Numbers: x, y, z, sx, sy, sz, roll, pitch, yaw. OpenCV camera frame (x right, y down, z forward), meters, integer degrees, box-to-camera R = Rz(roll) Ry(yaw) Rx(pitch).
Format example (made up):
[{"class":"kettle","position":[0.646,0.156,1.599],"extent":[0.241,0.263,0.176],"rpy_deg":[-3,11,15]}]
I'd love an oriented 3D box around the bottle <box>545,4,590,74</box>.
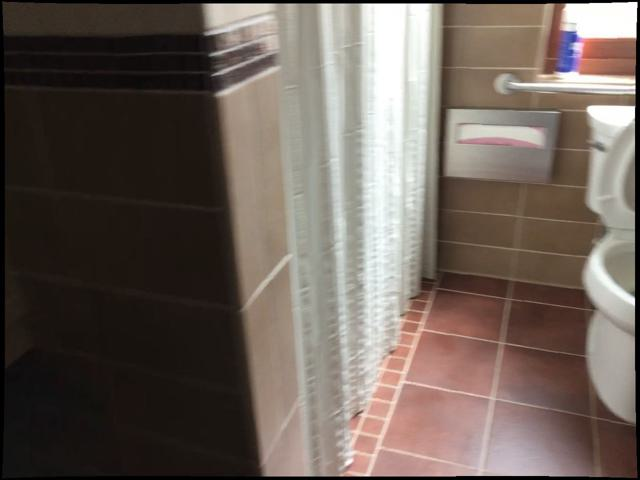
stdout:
[{"class":"bottle","position":[0.898,-0.732,2.100],"extent":[0.120,0.220,0.110],"rpy_deg":[7,31,19]}]
